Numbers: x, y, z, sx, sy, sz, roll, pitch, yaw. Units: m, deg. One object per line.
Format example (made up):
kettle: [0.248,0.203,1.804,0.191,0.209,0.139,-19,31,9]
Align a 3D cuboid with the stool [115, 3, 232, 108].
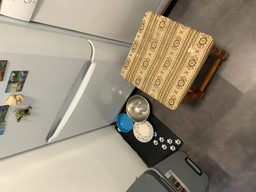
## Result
stool: [0.240,-0.180,1.030,0.310,0.460,0.300,36,112,26]
